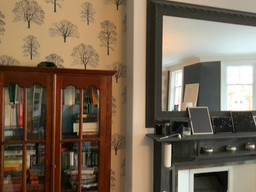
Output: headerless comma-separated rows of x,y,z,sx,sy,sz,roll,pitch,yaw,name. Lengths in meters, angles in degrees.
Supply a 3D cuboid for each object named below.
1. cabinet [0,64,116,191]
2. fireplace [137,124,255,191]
-0.630,0.720,1.810,0.960,1.880,0.480,1,0,-15,cabinet
0.960,1.020,2.350,1.620,1.310,0.580,1,0,-14,fireplace
